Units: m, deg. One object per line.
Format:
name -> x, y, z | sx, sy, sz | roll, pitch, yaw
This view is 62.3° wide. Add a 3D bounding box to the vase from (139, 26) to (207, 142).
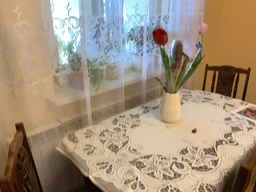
vase -> 0.260, -0.090, 1.300 | 0.320, 0.630, 0.200 | -18, 28, -38
